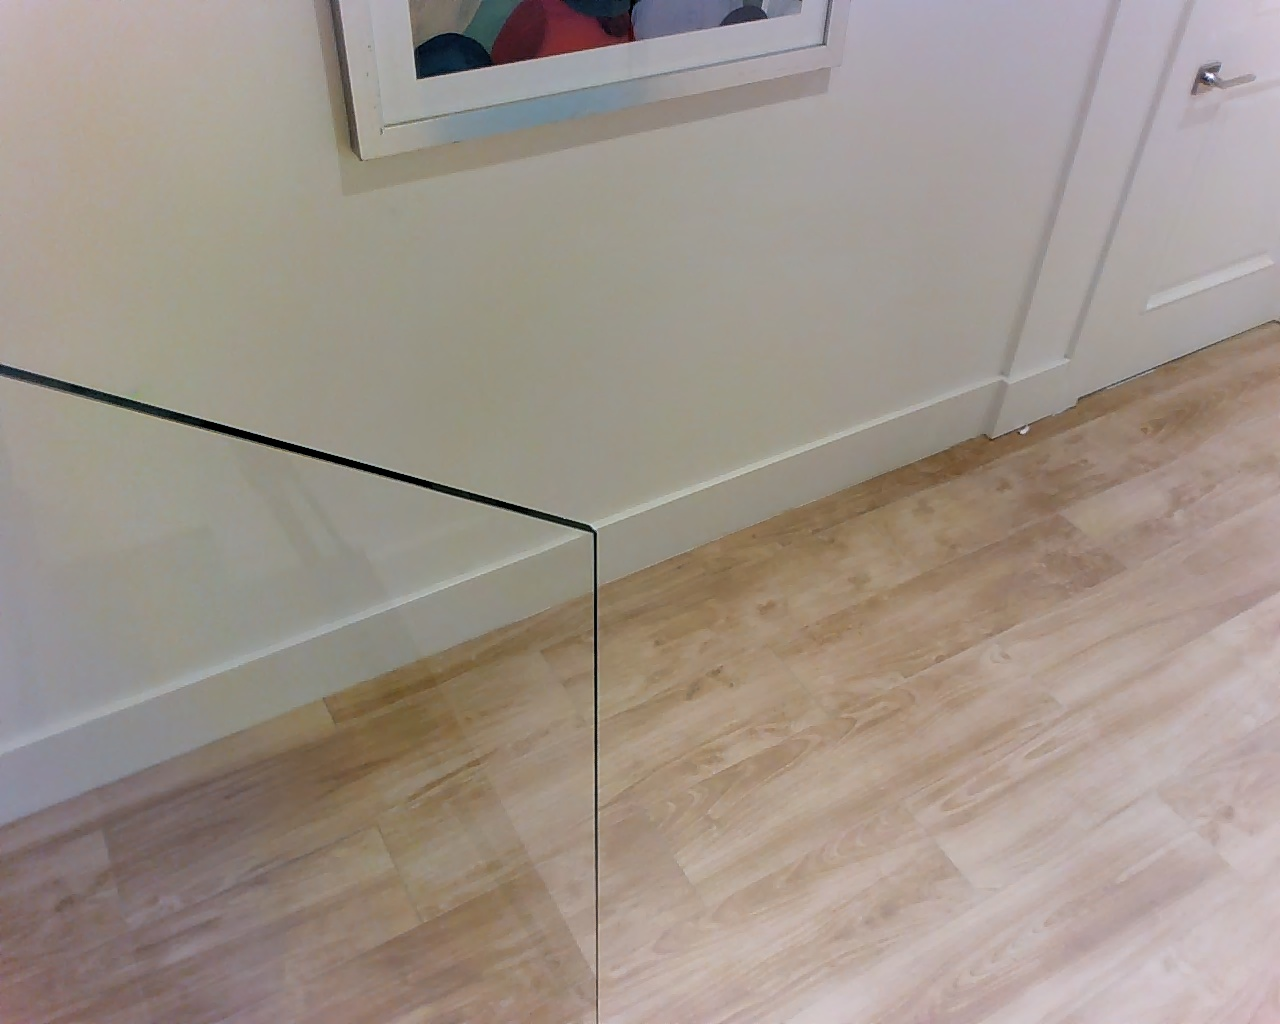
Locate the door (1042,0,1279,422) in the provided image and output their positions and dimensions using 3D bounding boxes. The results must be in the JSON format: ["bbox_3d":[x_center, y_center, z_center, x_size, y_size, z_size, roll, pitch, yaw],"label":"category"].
[{"bbox_3d":[1.650,-1.270,2.480,1.100,2.220,0.060,-20,46,-23],"label":"door"}]
